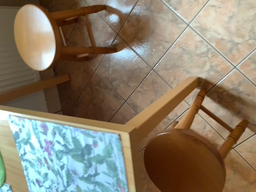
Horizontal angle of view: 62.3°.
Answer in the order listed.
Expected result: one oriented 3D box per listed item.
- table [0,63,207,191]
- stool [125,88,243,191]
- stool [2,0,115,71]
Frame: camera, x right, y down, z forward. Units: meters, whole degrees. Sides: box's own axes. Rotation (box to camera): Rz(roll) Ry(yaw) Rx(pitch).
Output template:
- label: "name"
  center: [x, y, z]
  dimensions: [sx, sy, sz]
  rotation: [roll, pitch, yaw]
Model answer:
- label: "table"
  center: [-0.240, 0.250, 1.120]
  dimensions: [1.100, 0.770, 0.690]
  rotation: [3, 108, 31]
- label: "stool"
  center: [0.290, 0.210, 0.960]
  dimensions: [0.370, 0.450, 0.380]
  rotation: [-1, 106, 32]
- label: "stool"
  center: [-0.350, -0.330, 1.180]
  dimensions: [0.330, 0.450, 0.300]
  rotation: [3, 108, 31]
